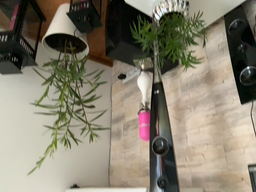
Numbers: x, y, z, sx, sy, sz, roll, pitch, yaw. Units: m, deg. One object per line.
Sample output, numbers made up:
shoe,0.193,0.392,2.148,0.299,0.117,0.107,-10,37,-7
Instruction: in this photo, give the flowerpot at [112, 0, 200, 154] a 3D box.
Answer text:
flowerpot,0.130,-0.180,1.150,0.340,0.910,0.230,17,151,-36

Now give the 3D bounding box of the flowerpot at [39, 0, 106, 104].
flowerpot,-0.350,-0.290,1.360,0.230,0.560,0.380,17,152,-35

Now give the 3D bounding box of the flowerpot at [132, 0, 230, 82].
flowerpot,0.200,-0.310,0.850,0.310,0.390,0.200,18,151,-37
